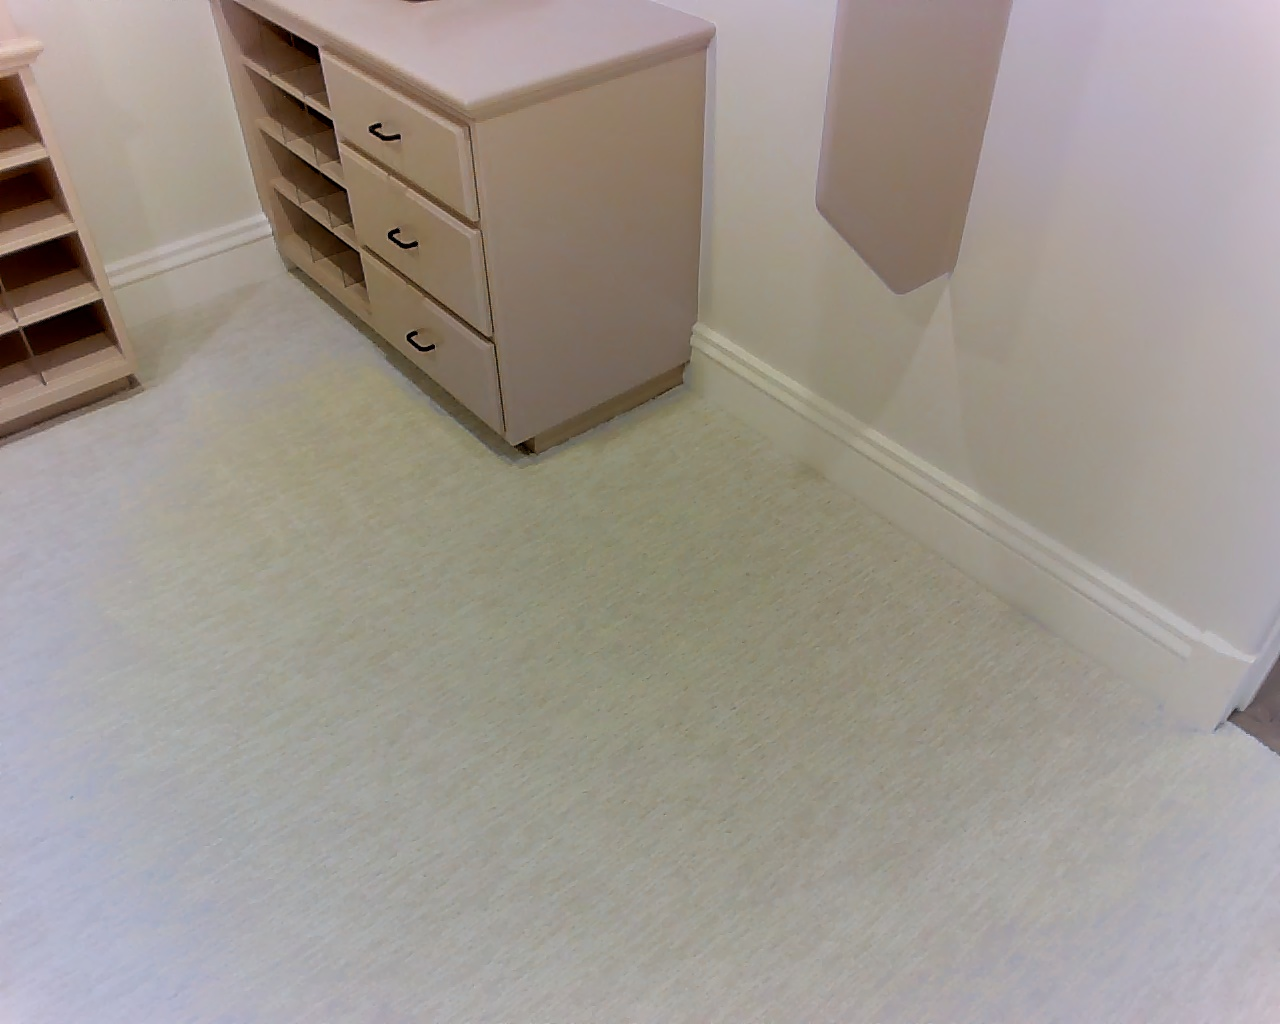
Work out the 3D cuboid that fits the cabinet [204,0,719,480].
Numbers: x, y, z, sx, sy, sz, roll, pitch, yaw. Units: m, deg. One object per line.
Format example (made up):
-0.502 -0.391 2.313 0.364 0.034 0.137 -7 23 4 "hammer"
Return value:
-0.470 -0.870 2.710 0.590 0.920 1.270 -29 50 -28 "cabinet"
